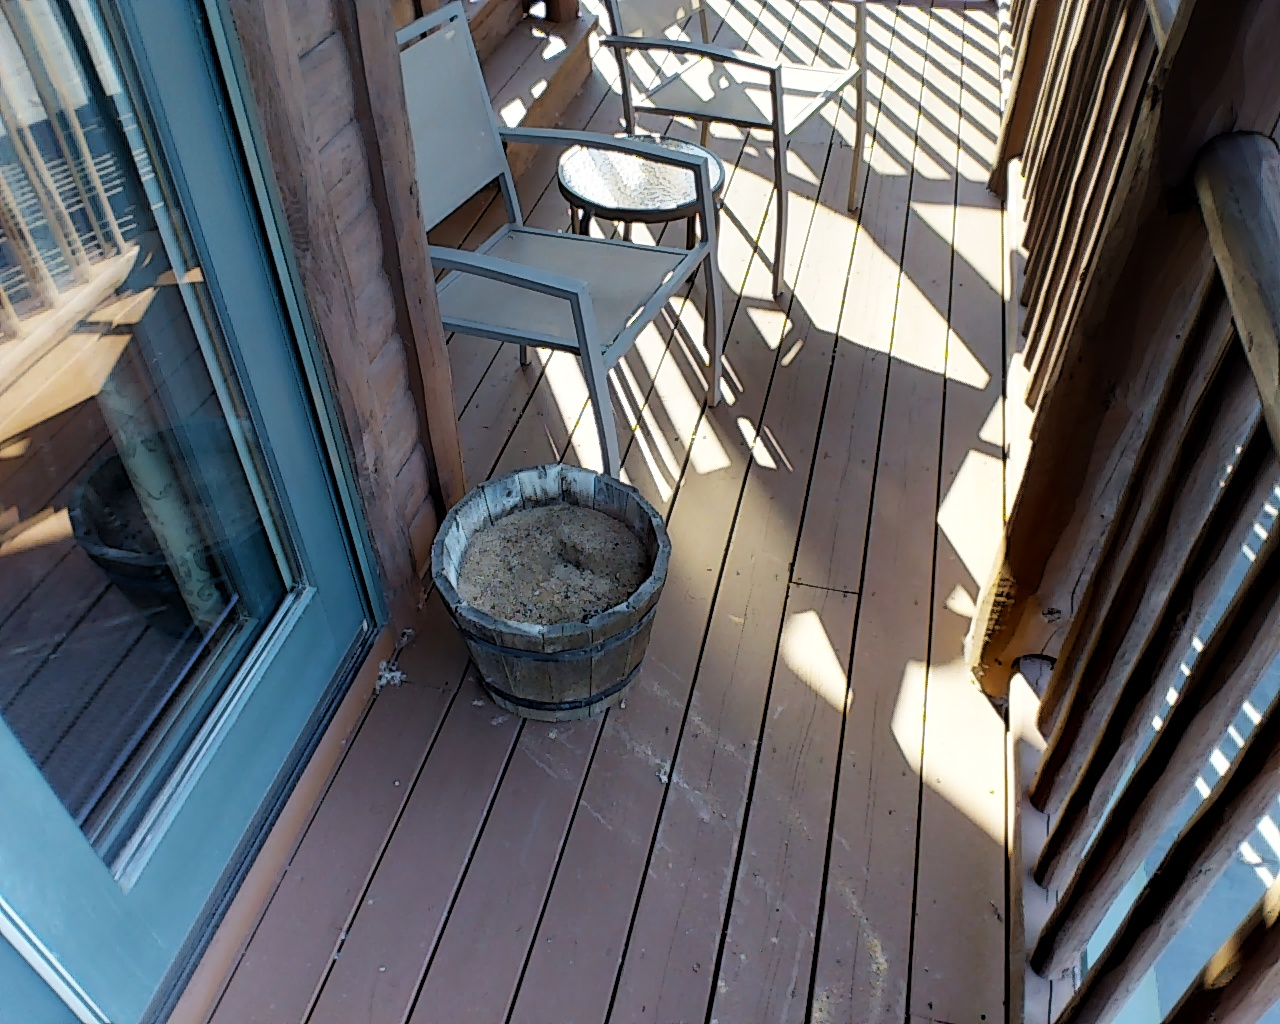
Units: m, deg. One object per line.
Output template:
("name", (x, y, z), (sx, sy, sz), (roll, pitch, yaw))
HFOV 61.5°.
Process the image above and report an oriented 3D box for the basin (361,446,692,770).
("basin", (-0.180, 0.160, 1.920), (0.450, 0.300, 0.390), (12, 44, 11))
